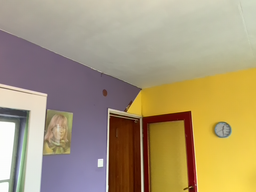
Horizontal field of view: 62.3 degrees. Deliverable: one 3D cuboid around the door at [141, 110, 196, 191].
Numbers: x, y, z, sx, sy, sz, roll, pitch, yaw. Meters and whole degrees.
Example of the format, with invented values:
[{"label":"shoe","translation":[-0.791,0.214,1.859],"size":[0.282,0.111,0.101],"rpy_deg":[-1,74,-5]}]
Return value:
[{"label":"door","translation":[0.520,1.280,2.840],"size":[0.080,2.110,0.820],"rpy_deg":[12,-18,-42]}]
